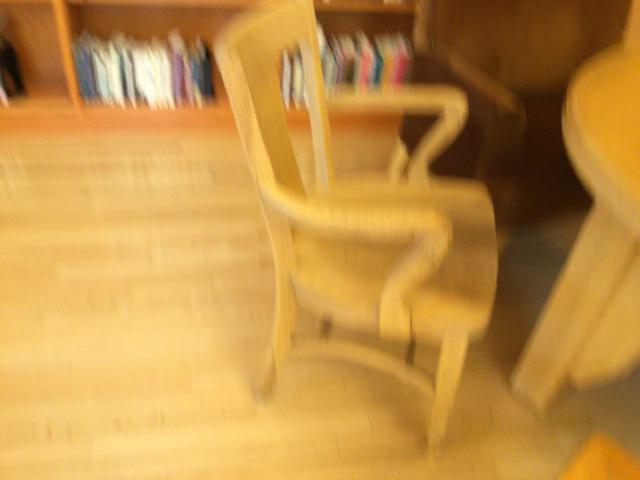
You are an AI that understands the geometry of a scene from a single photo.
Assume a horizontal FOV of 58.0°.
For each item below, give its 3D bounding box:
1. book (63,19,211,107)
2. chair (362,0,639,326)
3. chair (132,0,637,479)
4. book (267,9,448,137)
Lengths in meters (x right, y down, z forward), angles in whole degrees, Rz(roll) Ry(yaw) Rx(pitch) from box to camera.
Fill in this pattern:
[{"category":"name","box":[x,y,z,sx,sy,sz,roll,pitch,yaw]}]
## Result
[{"category":"book","box":[-0.710,-0.720,2.330,0.510,0.230,0.360,-3,36,-10]},{"category":"chair","box":[0.740,-0.420,1.820,0.880,0.910,0.800,-10,38,-18]},{"category":"chair","box":[0.120,-0.040,1.270,0.670,0.920,0.640,12,36,12]},{"category":"book","box":[0.130,-0.730,2.510,0.690,0.430,0.350,-3,36,-10]}]
